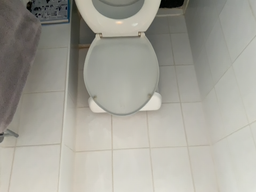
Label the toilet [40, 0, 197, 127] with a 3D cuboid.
[{"bbox_3d":[-0.050,-0.360,1.020,0.400,0.840,0.690,-3,157,-2],"label":"toilet"}]
